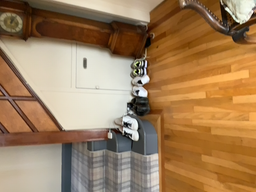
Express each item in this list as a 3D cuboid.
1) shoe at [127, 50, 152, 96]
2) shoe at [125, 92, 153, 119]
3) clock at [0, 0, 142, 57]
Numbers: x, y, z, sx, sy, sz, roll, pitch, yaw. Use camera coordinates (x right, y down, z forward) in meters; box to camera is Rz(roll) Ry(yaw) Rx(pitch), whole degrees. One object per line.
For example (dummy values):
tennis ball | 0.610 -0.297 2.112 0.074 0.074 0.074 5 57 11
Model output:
shoe | 0.120 -0.240 2.330 0.290 0.120 0.430 -17 73 61
shoe | 0.110 0.110 2.260 0.290 0.170 0.250 -18 72 60
clock | -0.550 -0.680 2.020 0.290 1.410 0.350 -19 71 60
